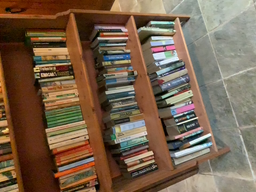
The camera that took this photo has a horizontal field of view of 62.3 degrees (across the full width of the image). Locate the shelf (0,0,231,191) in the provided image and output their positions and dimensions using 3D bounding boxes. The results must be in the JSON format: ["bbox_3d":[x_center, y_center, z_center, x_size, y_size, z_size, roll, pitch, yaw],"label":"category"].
[{"bbox_3d":[-0.350,0.020,1.070,0.360,1.860,0.960,-24,77,60],"label":"shelf"}]
